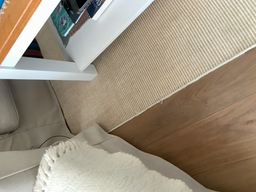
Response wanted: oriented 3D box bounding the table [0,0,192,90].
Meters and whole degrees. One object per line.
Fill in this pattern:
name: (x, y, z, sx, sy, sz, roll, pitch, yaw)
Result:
table: (-0.260, -0.520, 0.790, 0.710, 0.510, 0.730, -35, 73, 31)
